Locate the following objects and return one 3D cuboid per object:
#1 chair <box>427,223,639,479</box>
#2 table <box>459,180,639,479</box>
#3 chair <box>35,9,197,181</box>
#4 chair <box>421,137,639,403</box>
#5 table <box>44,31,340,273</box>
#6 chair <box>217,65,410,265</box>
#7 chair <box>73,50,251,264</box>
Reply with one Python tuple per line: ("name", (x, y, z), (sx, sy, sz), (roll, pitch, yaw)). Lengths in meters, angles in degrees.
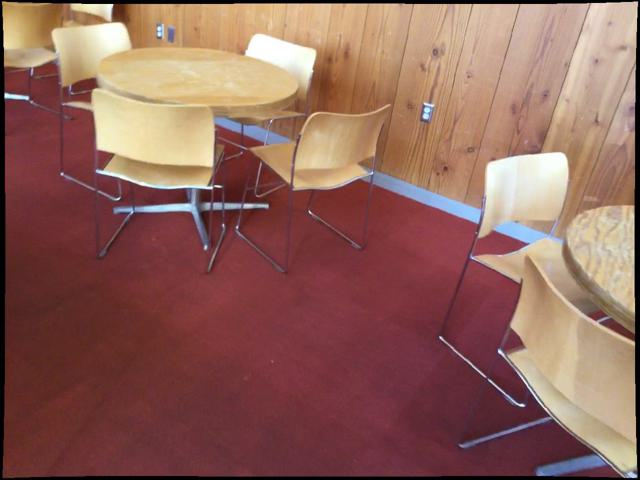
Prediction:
("chair", (0.779, 0.410, 1.610), (0.589, 0.691, 0.620), (-2, 30, -20))
("table", (1.109, 0.420, 1.790), (0.939, 0.741, 0.880), (23, 31, 23))
("chair", (-1.049, -0.781, 3.030), (0.590, 0.681, 0.490), (23, 31, 23))
("chair", (0.849, 0.070, 2.170), (0.490, 0.691, 0.640), (-11, 35, -33))
("table", (-0.589, -0.511, 2.820), (0.939, 0.731, 0.940), (23, 31, 23))
("chair", (-0.060, -0.380, 2.680), (0.530, 0.670, 0.630), (-16, 37, -38))
("chair", (-0.639, -0.380, 2.510), (0.579, 0.660, 0.670), (6, 29, -6))
